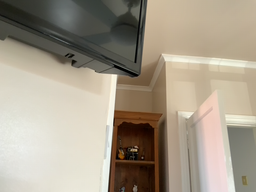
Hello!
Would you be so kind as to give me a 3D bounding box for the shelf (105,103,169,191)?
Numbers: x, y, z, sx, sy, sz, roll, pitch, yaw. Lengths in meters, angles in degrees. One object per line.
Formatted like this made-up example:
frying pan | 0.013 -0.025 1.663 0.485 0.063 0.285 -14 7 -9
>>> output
shelf | 0.050 1.040 1.800 0.500 1.900 0.400 5 -22 -6
